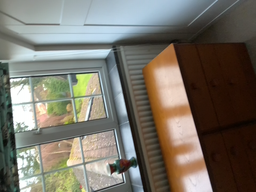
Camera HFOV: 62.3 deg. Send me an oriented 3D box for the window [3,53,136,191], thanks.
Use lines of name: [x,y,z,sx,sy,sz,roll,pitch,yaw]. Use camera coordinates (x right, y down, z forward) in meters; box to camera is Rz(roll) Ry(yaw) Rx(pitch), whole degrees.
window: [-0.400,0.480,1.630,0.120,0.820,1.660,147,113,-64]
